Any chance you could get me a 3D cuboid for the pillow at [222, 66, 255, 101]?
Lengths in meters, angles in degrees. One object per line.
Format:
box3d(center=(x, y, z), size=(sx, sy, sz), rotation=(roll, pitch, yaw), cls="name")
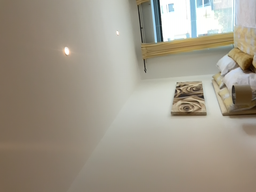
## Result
box3d(center=(1.480, -0.180, 2.790), size=(0.590, 0.370, 0.300), rotation=(-51, -44, -66), cls="pillow")
